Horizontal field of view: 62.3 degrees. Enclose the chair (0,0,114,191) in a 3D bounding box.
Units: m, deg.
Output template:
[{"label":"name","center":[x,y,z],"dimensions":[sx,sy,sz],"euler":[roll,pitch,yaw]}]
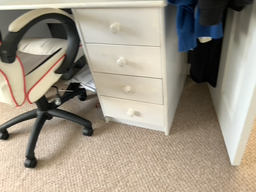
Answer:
[{"label":"chair","center":[-0.610,-0.230,0.950],"dimensions":[0.640,1.230,0.720],"euler":[11,43,23]}]
